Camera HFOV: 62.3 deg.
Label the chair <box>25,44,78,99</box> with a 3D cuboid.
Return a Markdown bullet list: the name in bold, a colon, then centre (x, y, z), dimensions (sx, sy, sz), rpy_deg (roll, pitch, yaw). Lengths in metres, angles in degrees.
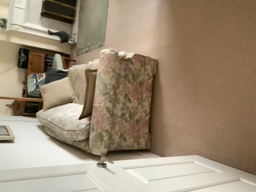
- **chair**: centre (-1.460, -0.430, 4.000), dimensions (0.760, 0.730, 0.530), rpy_deg (-53, 44, 37)

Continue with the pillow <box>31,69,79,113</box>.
- **pillow**: centre (-1.050, -0.080, 3.080), dimensions (0.430, 0.460, 0.230), rpy_deg (40, 152, 25)

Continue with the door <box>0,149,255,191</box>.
- **door**: centre (-0.120, 0.360, 0.780), dimensions (0.840, 2.010, 0.040), rpy_deg (4, 88, 56)
